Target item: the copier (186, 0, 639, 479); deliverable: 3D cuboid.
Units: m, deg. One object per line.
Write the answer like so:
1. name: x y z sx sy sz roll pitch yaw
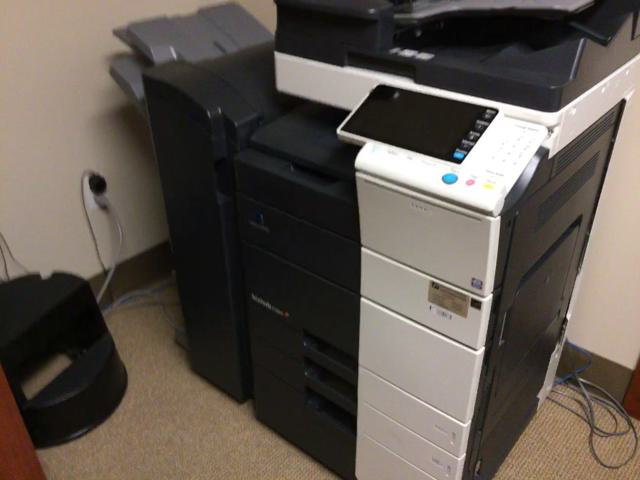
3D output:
1. copier: 0.260 0.000 1.390 0.680 1.150 0.690 22 40 34
